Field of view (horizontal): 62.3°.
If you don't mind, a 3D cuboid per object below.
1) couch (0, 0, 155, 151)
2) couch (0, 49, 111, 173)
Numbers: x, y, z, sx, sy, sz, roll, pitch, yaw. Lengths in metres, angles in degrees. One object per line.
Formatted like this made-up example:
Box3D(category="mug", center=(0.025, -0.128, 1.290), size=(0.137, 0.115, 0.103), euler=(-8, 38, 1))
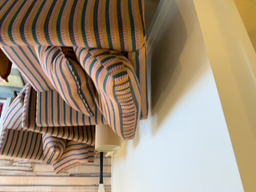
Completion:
Box3D(category="couch", center=(-0.290, -0.220, 1.210), size=(0.810, 0.800, 0.860), euler=(-4, 151, 5))
Box3D(category="couch", center=(-0.740, 0.240, 2.050), size=(0.780, 0.780, 0.860), euler=(20, 144, -34))
